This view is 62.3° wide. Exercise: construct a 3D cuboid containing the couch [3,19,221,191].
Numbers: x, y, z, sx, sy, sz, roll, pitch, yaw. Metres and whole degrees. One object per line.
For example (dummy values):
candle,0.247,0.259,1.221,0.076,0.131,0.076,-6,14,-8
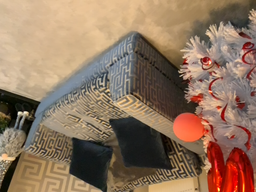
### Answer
couch,-0.150,0.290,1.880,1.360,0.730,1.080,-27,134,36
